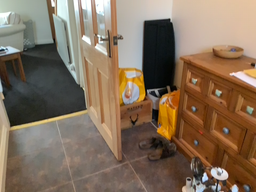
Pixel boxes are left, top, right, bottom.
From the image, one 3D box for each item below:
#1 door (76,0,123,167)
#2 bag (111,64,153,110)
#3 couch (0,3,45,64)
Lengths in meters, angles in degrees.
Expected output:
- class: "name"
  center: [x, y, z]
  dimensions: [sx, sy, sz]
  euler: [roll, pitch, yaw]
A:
- class: "door"
  center: [-0.250, -0.490, 1.670]
  dimensions: [0.070, 1.990, 0.880]
  euler: [-12, 29, -23]
- class: "bag"
  center: [0.030, -0.100, 2.150]
  dimensions: [0.350, 0.360, 0.250]
  euler: [-6, 28, -13]
- class: "couch"
  center: [-2.860, -1.430, 4.590]
  dimensions: [1.380, 0.980, 1.270]
  euler: [8, 28, 14]
